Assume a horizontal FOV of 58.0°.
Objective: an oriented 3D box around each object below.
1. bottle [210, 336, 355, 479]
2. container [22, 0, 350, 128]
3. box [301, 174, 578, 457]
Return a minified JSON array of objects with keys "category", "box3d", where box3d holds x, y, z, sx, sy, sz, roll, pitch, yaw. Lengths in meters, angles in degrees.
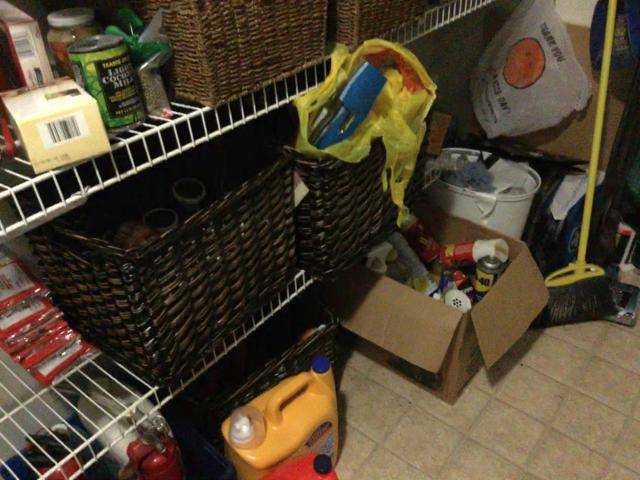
[{"category":"bottle","box3d":[-0.070,0.430,1.300,0.170,0.290,0.260,25,45,33]},{"category":"container","box3d":[-0.220,-0.380,0.940,0.420,0.190,0.330,25,45,33]},{"category":"box","box3d":[0.310,0.160,1.550,0.490,0.380,0.500,25,45,33]}]
